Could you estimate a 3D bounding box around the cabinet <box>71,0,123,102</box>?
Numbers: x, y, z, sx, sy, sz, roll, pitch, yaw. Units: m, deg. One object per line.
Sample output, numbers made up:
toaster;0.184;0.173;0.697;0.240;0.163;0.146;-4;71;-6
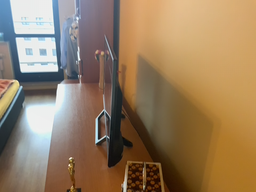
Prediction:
cabinet;-0.360;-0.790;2.200;0.390;1.440;0.870;-4;24;-16
